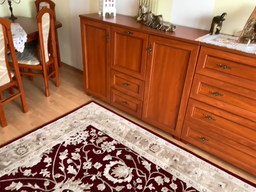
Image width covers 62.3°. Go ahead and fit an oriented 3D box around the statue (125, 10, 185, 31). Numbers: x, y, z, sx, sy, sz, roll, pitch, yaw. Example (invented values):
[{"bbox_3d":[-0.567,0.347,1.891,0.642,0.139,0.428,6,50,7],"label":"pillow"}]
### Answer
[{"bbox_3d":[0.250,-0.720,1.990,0.470,0.090,0.290,24,35,31],"label":"statue"}]
